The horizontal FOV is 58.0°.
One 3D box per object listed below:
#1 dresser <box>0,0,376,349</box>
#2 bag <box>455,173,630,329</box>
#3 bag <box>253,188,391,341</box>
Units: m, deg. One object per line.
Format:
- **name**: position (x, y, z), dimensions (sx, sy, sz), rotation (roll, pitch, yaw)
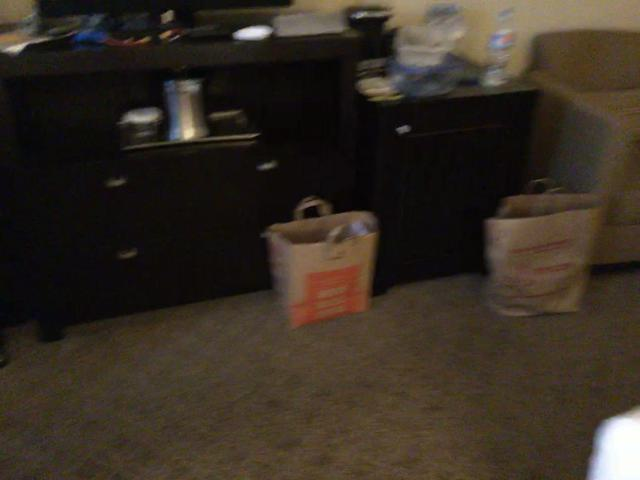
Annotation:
- **dresser**: position (-0.480, -0.320, 2.060), dimensions (1.180, 1.090, 0.560), rotation (-9, 31, -14)
- **bag**: position (0.790, 0.030, 2.120), dimensions (0.440, 0.420, 0.300), rotation (-9, 31, -14)
- **bag**: position (0.000, 0.080, 2.060), dimensions (0.410, 0.420, 0.250), rotation (-9, 31, -14)
